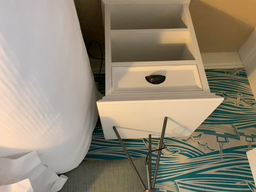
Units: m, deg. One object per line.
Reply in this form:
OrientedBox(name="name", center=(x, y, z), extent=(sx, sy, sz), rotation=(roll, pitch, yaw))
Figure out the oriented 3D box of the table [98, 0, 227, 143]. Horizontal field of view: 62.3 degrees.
OrientedBox(name="table", center=(0.100, -0.140, 1.090), extent=(0.450, 0.620, 0.490), rotation=(-3, 154, -2))
